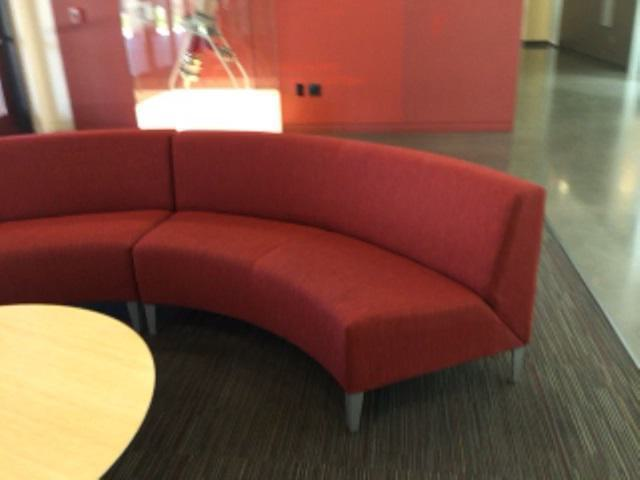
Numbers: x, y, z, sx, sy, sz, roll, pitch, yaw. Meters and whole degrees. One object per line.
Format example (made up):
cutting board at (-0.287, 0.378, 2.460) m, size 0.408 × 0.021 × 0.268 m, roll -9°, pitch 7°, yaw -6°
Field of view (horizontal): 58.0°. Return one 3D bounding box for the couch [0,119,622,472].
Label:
couch at (-0.670, 0.020, 2.430) m, size 3.120 × 0.790 × 1.300 m, roll 2°, pitch 23°, yaw 9°
